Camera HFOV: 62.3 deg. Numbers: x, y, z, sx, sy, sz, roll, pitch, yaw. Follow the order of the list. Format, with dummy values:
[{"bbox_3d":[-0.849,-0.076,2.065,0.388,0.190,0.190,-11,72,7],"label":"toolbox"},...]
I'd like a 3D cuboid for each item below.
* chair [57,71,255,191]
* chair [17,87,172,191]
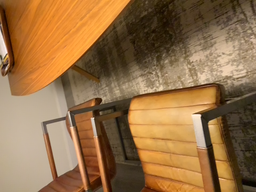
[{"bbox_3d":[0.240,0.240,0.870,0.550,0.780,0.560,-10,91,52],"label":"chair"},{"bbox_3d":[-0.220,0.320,1.450,0.530,0.790,0.560,-17,86,52],"label":"chair"}]
